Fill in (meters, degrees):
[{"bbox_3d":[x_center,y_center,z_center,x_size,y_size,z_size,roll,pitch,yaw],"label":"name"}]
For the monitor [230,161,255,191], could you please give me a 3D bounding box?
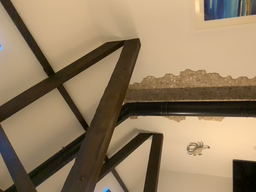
[{"bbox_3d":[2.070,1.630,3.670,0.040,0.530,0.920,8,-96,-69],"label":"monitor"}]
